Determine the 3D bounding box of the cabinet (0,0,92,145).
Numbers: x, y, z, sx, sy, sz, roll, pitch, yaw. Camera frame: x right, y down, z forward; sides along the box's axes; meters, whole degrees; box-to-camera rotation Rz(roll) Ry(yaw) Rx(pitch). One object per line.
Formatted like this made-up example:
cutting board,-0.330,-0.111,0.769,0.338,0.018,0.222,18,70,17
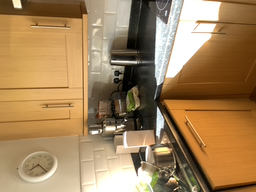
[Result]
cabinet,-0.720,-0.130,1.560,0.320,0.840,1.030,-110,23,-51
